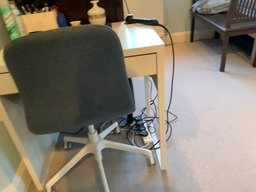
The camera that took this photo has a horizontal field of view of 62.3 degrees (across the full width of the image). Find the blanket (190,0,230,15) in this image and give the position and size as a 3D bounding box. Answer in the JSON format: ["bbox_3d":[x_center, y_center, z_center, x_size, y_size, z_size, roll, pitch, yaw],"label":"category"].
[{"bbox_3d":[0.960,-1.100,2.530,0.300,0.130,0.430,-6,32,1],"label":"blanket"}]

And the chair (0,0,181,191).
[{"bbox_3d":[-0.170,0.030,1.080,0.600,0.880,0.710,-10,32,-6],"label":"chair"}]
